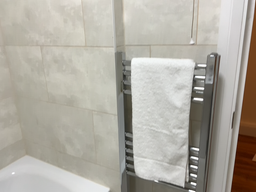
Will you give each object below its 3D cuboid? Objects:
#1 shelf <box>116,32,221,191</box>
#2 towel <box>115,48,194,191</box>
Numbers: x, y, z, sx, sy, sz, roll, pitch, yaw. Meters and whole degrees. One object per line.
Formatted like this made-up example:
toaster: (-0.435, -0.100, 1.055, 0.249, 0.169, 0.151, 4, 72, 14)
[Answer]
shelf: (0.160, 0.380, 1.010, 0.400, 1.300, 0.030, 7, 21, 27)
towel: (0.100, 0.100, 0.860, 0.260, 0.570, 0.140, 7, 17, 26)
